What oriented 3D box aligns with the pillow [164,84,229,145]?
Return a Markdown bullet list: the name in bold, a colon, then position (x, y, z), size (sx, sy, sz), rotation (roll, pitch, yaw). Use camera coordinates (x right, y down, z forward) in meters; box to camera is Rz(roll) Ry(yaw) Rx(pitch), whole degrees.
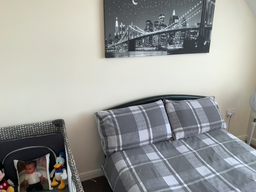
- **pillow**: position (0.720, 0.200, 2.240), size (0.670, 0.430, 0.130), rotation (-24, 44, -11)
